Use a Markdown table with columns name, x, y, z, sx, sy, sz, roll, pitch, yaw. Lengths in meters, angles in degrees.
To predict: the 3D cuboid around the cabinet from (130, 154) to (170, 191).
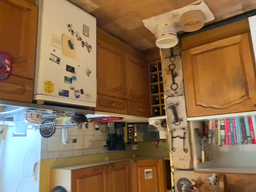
| name | x | y | z | sx | sy | sz | roll | pitch | yaw |
| --- | --- | --- | --- | --- | --- | --- | --- | --- | --- |
| cabinet | 0.280 | 1.200 | 2.780 | 0.400 | 0.790 | 0.440 | -1 | 169 | -9 |
